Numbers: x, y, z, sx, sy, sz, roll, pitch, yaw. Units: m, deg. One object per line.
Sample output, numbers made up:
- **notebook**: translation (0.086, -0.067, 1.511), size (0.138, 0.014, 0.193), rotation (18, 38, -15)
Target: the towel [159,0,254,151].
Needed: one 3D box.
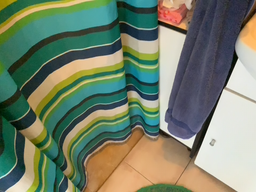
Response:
- **towel**: translation (0.210, -0.110, 0.630), size (0.150, 0.980, 0.070), rotation (28, 58, 23)
